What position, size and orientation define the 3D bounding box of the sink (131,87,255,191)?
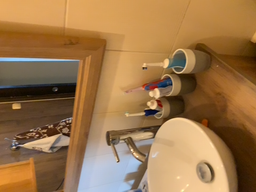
[{"bbox_3d":[0.190,0.250,0.700,0.360,0.130,0.430,-121,38,-45],"label":"sink"}]
